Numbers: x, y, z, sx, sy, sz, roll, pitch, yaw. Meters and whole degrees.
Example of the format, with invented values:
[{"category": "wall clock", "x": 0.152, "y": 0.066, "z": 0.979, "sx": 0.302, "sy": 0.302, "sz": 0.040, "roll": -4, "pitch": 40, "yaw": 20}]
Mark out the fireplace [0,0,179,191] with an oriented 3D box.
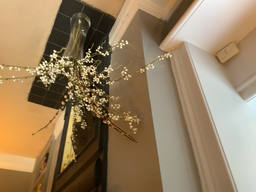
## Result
[{"category": "fireplace", "x": -0.450, "y": 0.280, "z": 1.690, "sx": 0.750, "sy": 1.380, "sz": 1.390, "roll": 18, "pitch": 136, "yaw": -24}]
